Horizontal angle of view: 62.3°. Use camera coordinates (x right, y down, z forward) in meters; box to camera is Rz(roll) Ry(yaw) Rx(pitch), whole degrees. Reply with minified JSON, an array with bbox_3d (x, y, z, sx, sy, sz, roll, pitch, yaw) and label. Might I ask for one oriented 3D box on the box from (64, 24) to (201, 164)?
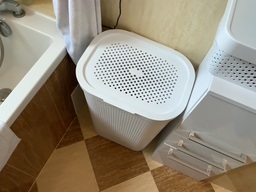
[{"bbox_3d":[0.000,0.050,1.080,0.440,0.630,0.310,23,62,6],"label":"box"}]
